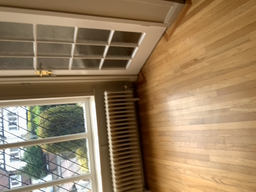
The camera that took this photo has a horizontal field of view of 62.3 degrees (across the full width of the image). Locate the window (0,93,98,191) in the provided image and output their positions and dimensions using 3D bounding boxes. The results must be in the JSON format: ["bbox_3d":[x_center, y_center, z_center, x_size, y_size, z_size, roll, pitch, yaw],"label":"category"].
[{"bbox_3d":[-1.230,0.810,2.430,0.200,1.670,1.600,154,111,-63],"label":"window"}]

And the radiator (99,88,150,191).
[{"bbox_3d":[-0.050,0.620,2.740,0.140,0.450,1.450,150,114,-62],"label":"radiator"}]
